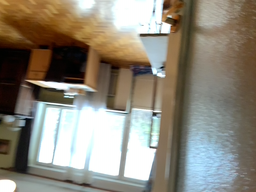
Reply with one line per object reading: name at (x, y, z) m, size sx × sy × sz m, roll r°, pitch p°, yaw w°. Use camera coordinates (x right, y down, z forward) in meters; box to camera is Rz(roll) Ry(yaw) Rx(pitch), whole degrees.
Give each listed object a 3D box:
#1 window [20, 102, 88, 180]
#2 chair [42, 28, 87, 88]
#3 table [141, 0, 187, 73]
window at (-1.690, 0.990, 4.890) m, size 1.300 × 1.550 × 0.230 m, roll 5°, pitch 171°, yaw 13°
chair at (-1.140, -0.670, 3.890) m, size 0.470 × 0.930 × 0.520 m, roll 6°, pitch 171°, yaw 10°
table at (0.340, -0.700, 1.800) m, size 0.270 × 0.790 × 0.800 m, roll 5°, pitch 171°, yaw 12°
